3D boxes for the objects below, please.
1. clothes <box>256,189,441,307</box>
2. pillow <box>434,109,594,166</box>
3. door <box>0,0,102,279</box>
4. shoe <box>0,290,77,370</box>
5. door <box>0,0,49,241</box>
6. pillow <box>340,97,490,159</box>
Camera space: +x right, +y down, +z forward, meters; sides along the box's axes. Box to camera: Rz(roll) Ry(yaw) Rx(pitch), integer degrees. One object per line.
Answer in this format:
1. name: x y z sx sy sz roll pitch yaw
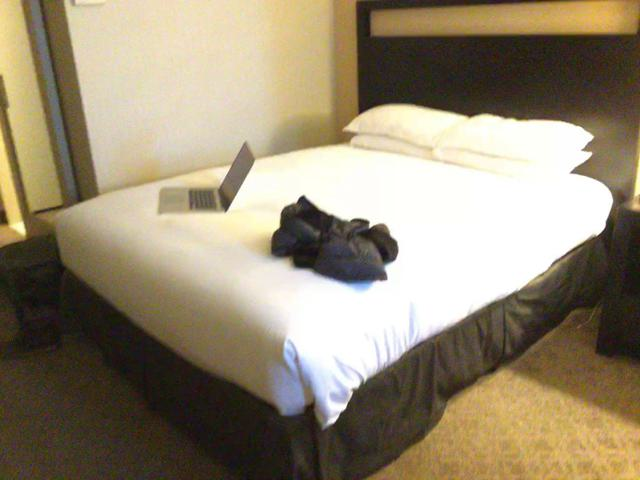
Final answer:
1. clothes: 0.090 0.000 1.750 0.390 0.210 0.390 -18 21 -42
2. pillow: 0.890 -0.490 2.700 0.370 0.200 0.600 -18 21 -42
3. door: -1.640 -0.750 3.150 0.150 1.770 1.070 -18 21 -42
4. shoe: -1.350 0.400 2.610 0.390 0.150 0.440 -13 18 -29
5. door: -2.070 -0.910 3.670 0.200 1.650 1.020 -8 16 -14
6. pillow: 0.500 -0.610 3.100 0.420 0.260 0.670 -18 21 -42
